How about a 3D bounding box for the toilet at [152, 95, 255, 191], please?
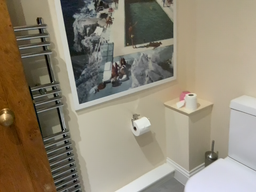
[{"bbox_3d":[0.550,0.500,1.240,0.670,0.780,0.420,-17,24,-30],"label":"toilet"}]
